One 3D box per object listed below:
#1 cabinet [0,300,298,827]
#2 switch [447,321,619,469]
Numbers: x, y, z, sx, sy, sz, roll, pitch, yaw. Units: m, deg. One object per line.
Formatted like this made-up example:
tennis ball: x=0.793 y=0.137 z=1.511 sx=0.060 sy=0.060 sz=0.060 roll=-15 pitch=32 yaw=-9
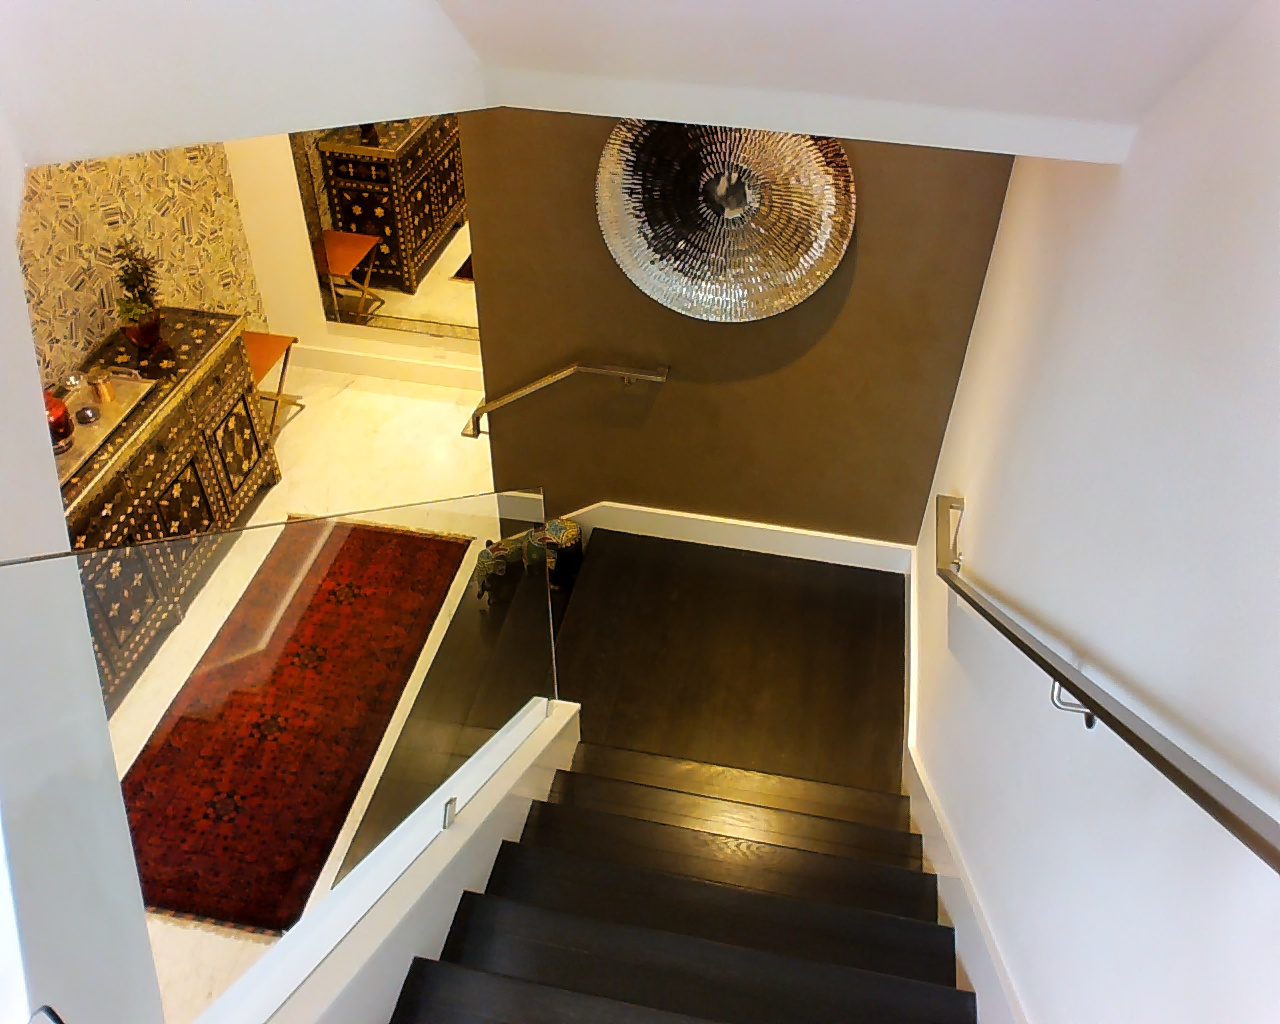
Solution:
cabinet: x=-2.210 y=0.090 z=4.450 sx=0.520 sy=0.940 sz=2.100 roll=8 pitch=42 yaw=8
switch: x=-0.390 y=-0.440 z=4.070 sx=0.600 sy=0.470 sz=0.180 roll=8 pitch=42 yaw=7
